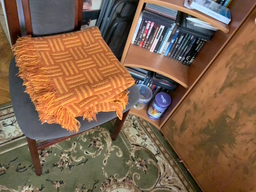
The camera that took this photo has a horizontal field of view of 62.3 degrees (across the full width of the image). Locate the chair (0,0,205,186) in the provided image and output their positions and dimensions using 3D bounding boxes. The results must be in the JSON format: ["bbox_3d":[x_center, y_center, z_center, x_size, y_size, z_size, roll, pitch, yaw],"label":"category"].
[{"bbox_3d":[-0.240,-0.150,0.830,0.470,1.010,0.550,-20,62,-29],"label":"chair"}]
